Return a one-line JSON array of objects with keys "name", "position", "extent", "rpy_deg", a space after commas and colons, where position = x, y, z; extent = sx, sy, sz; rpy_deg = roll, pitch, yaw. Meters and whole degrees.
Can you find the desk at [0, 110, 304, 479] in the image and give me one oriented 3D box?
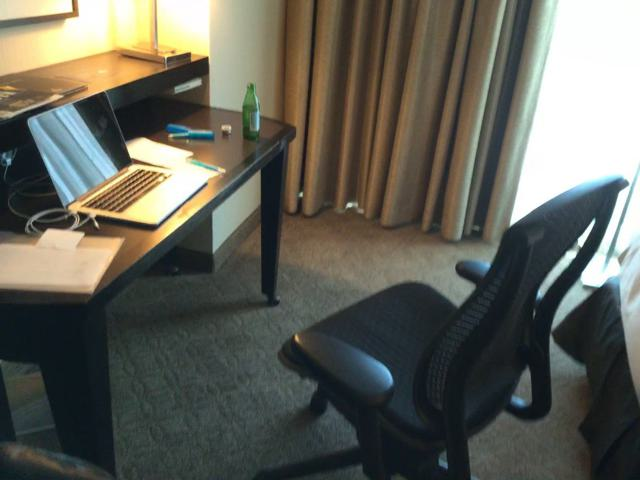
[{"name": "desk", "position": [-0.580, 0.140, 1.770], "extent": [0.650, 0.790, 1.420], "rpy_deg": [10, 22, 11]}]
